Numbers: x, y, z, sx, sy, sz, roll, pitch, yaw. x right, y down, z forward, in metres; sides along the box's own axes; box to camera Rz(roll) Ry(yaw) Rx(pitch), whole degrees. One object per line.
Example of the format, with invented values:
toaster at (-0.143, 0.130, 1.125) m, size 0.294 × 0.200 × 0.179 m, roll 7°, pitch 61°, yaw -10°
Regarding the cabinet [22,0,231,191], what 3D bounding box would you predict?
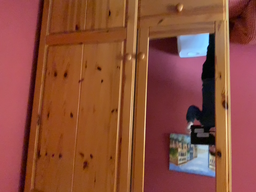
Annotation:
cabinet at (0.040, -0.180, 1.550) m, size 1.200 × 2.040 × 0.610 m, roll 0°, pitch 171°, yaw 18°
